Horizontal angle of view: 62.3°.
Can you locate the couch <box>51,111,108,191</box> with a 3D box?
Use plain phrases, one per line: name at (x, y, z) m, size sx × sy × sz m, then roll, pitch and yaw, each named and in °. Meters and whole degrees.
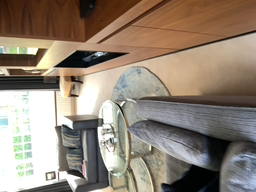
couch at (-1.010, 1.030, 4.230) m, size 1.130 × 0.800 × 1.300 m, roll 3°, pitch 95°, yaw 62°
